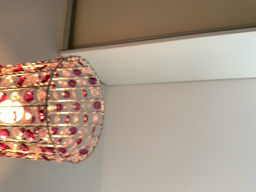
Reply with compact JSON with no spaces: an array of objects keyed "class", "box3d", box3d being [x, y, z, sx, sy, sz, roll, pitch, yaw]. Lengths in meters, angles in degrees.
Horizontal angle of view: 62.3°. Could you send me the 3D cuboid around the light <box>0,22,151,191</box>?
[{"class":"light","box3d":[-0.370,0.130,0.700,0.720,0.500,0.450,5,-128,24]}]
